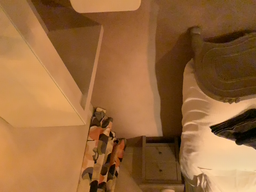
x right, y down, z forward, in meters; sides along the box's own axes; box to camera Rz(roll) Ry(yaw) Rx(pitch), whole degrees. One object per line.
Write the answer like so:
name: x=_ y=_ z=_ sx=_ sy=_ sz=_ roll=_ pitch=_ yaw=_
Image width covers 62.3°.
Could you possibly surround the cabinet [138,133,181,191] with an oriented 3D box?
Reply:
cabinet: x=0.430 y=0.910 z=2.910 sx=0.510 sy=0.650 sz=0.450 roll=0 pitch=145 yaw=9
